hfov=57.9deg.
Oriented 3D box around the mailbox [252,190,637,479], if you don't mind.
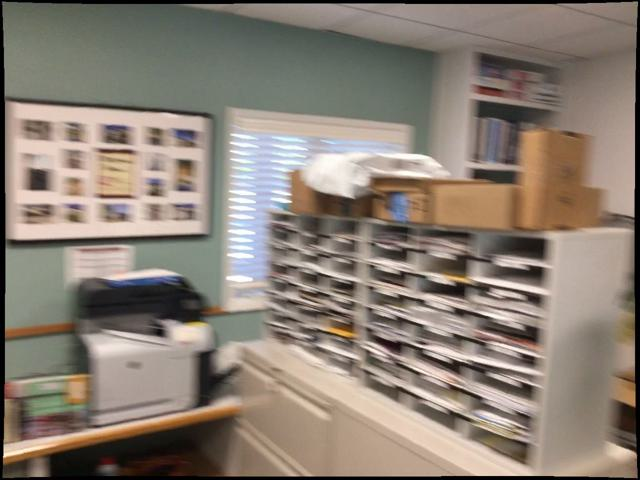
[{"bbox_3d":[0.240,0.170,2.010,0.320,0.661,1.510,-2,6,-32],"label":"mailbox"}]
